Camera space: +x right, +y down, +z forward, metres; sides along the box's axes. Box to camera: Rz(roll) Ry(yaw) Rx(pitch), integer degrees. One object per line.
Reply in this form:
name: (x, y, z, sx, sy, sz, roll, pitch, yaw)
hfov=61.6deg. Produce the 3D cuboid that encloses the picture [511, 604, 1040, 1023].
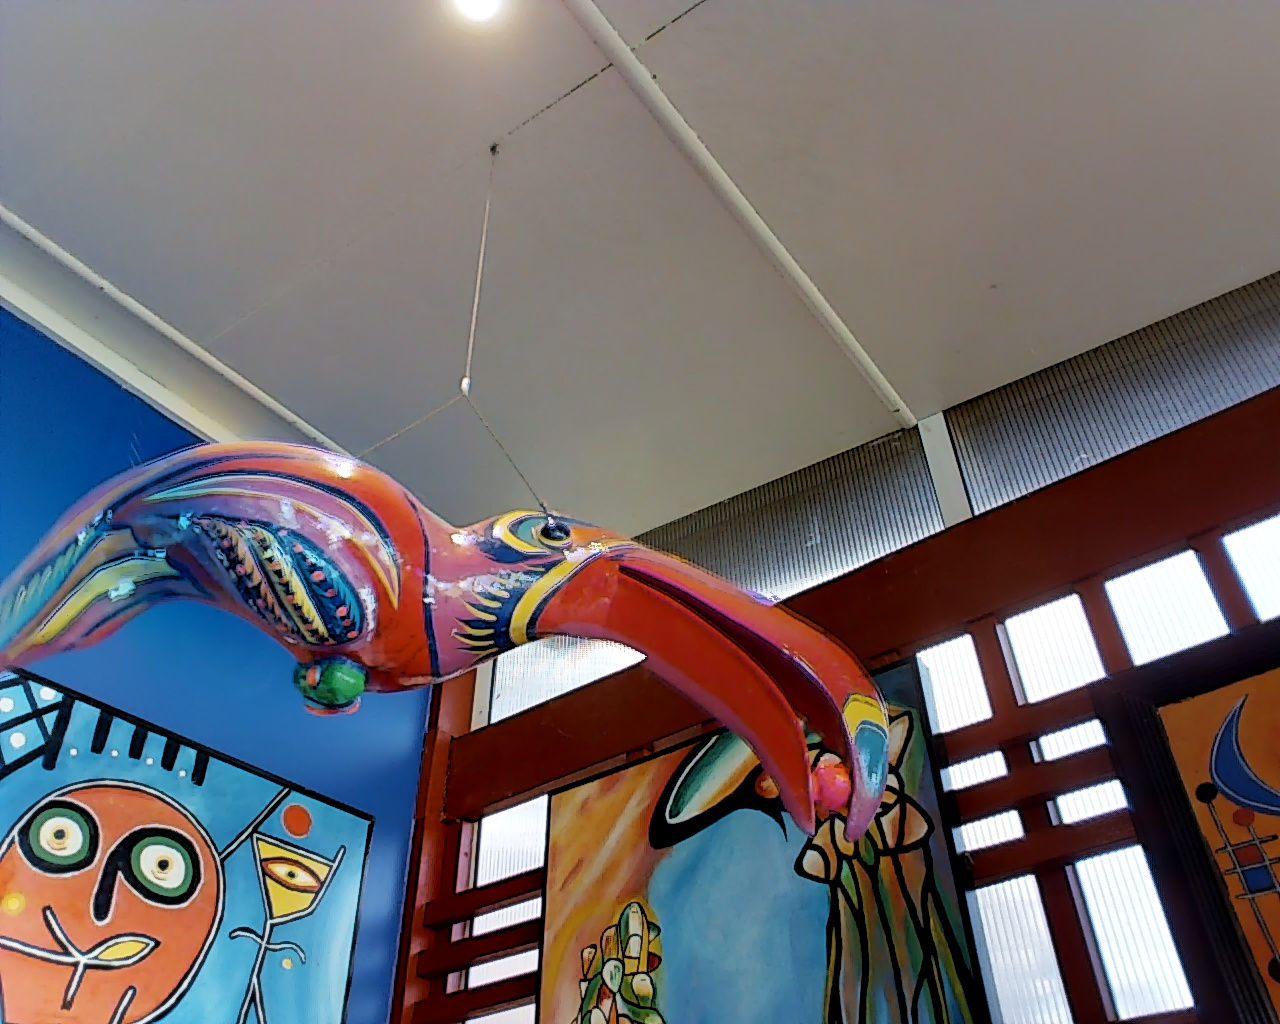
picture: (0.150, 0.760, 1.480, 0.780, 1.140, 0.130, -27, -47, 26)

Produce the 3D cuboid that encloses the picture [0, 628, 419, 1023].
picture: (-0.730, 0.650, 1.520, 0.060, 0.760, 0.970, -26, -47, 26)
